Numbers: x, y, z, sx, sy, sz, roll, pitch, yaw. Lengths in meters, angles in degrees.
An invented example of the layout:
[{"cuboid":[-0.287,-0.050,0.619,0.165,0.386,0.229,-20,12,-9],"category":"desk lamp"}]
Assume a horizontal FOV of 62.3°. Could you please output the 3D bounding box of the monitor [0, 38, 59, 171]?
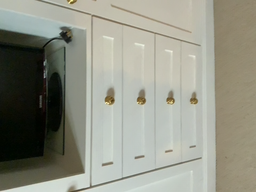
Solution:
[{"cuboid":[-0.450,0.030,0.820,0.040,0.350,0.490,-3,87,52],"category":"monitor"}]
